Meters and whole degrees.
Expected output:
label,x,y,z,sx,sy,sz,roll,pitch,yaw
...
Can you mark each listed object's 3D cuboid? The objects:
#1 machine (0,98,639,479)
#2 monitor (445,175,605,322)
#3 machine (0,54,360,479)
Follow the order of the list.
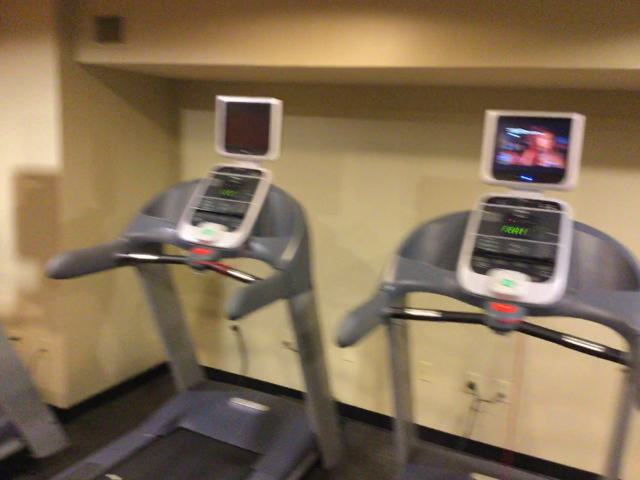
label,x,y,z,sx,sy,sz,roll,pitch,yaw
machine,0.440,0.500,1.660,0.980,1.720,2.050,6,14,23
monitor,0.720,0.030,2.050,0.410,0.320,0.140,-43,-10,26
machine,-0.660,0.360,2.020,0.980,1.740,2.160,4,13,21
